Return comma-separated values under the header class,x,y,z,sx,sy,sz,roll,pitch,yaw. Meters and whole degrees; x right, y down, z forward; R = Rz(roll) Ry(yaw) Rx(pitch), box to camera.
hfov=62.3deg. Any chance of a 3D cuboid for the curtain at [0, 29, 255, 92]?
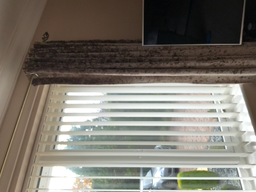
class,x,y,z,sx,sy,sz,roll,pitch,yaw
curtain,0.230,-0.280,1.690,0.310,2.420,0.390,89,-179,-54
